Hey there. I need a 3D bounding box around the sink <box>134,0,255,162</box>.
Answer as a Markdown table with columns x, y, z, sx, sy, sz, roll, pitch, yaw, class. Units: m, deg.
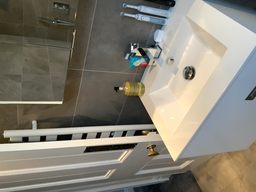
| x | y | z | sx | sy | sz | roll | pitch | yaw | class |
| --- | --- | --- | --- | --- | --- | --- | --- | --- | --- |
| 0.250 | -0.090 | 0.970 | 0.490 | 0.110 | 0.610 | -115 | 36 | -43 | sink |
